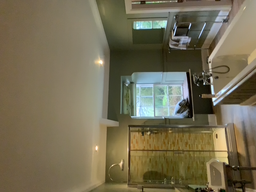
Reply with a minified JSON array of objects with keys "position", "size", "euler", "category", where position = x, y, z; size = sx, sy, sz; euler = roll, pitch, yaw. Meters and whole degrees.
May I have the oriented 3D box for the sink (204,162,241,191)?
[{"position":[1.180,1.080,2.700],"size":[0.720,0.170,0.440],"euler":[77,-167,-74],"category":"sink"}]
